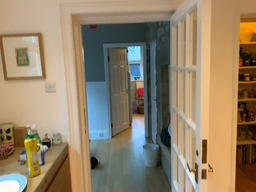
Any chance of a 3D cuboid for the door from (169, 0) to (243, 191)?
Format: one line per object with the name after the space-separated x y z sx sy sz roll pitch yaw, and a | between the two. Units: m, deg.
0.430 0.310 1.390 0.140 2.180 0.830 -2 8 0 | door
